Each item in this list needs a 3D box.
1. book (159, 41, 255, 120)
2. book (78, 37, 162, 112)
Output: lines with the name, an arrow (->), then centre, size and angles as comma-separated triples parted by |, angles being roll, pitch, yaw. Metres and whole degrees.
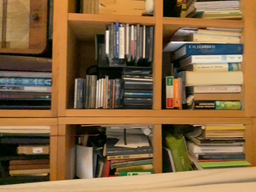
book -> 0.370, -0.060, 1.010 | 0.250, 0.390, 0.320 | 168, 103, -84
book -> -0.040, -0.080, 0.970 | 0.260, 0.330, 0.290 | 168, 103, -84
